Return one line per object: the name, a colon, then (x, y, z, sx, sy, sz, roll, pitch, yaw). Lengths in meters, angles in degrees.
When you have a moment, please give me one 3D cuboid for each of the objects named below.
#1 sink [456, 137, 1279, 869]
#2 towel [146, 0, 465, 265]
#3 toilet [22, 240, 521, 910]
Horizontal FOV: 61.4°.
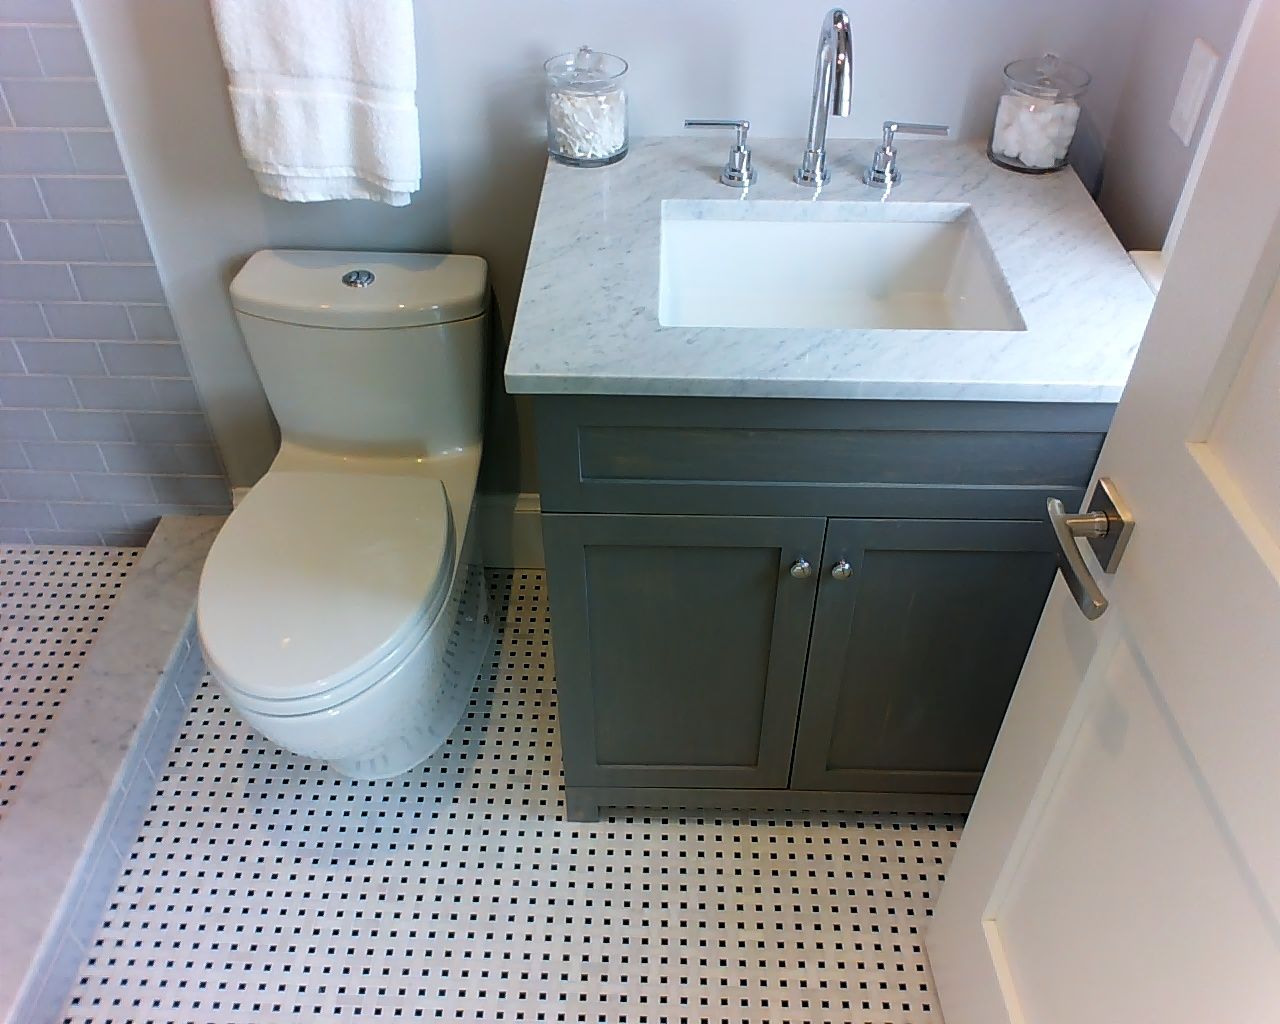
sink: (0.260, 0.010, 1.680, 0.890, 0.950, 0.620, 1, 41, 1)
towel: (-0.460, -0.650, 1.490, 0.350, 0.600, 0.150, 0, 41, 1)
toilet: (-0.470, 0.090, 1.740, 0.450, 0.760, 0.760, -1, 41, -1)
